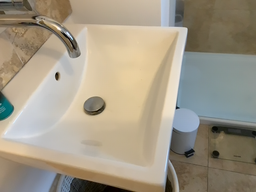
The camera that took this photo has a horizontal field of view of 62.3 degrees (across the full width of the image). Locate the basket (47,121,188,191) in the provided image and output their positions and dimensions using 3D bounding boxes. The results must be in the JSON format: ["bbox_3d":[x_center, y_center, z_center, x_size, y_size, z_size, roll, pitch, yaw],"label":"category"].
[{"bbox_3d":[-0.020,0.490,0.970,0.500,0.480,0.500,6,48,14],"label":"basket"}]
